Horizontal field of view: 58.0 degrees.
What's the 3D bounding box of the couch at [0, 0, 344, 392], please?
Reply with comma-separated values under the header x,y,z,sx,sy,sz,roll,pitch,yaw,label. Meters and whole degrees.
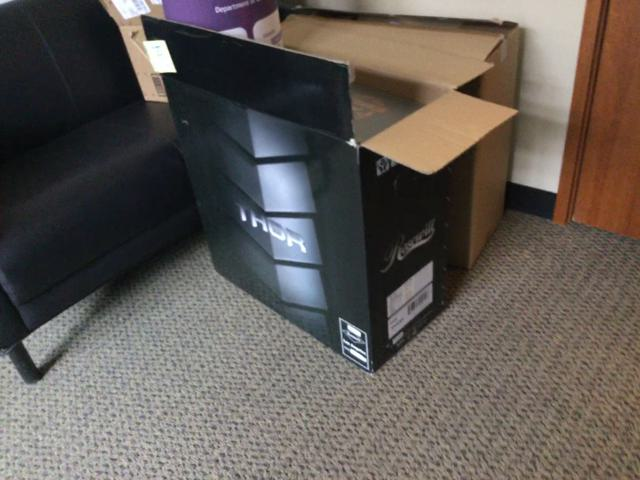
x,y,z,sx,sy,sz,roll,pitch,yaw,label
-0.690,-0.340,1.750,1.230,0.690,0.850,-34,43,-31,couch
